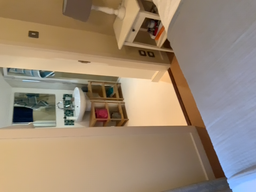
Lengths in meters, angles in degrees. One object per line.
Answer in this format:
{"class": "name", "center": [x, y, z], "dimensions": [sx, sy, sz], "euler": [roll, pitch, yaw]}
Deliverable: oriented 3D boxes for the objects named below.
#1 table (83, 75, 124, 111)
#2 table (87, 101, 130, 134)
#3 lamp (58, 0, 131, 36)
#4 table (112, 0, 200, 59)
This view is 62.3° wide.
{"class": "table", "center": [-0.460, -0.050, 3.840], "dimensions": [0.350, 0.590, 0.520], "euler": [124, 140, -48]}
{"class": "table", "center": [-0.340, 0.360, 3.570], "dimensions": [0.370, 0.580, 0.400], "euler": [124, 140, -48]}
{"class": "lamp", "center": [-0.300, -0.750, 1.870], "dimensions": [0.260, 0.570, 0.230], "euler": [124, 141, -48]}
{"class": "table", "center": [0.260, -0.700, 2.170], "dimensions": [0.470, 0.690, 0.340], "euler": [124, 141, -48]}
